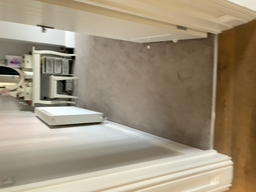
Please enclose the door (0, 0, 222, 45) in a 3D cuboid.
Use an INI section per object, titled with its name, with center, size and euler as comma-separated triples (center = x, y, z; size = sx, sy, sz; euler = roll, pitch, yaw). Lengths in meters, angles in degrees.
[door]
center = -0.420, -0.450, 1.160
size = 0.690, 2.010, 0.050
euler = 19, 106, 57
